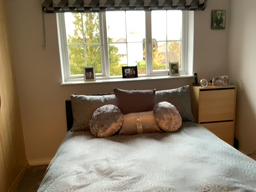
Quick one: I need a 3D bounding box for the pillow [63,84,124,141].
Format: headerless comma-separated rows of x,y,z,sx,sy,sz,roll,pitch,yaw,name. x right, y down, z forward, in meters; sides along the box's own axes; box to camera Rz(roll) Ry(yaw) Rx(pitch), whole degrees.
-0.370,0.170,2.330,0.540,0.460,0.190,-16,13,-9,pillow

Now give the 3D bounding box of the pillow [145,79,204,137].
0.540,0.130,2.480,0.510,0.470,0.220,-25,13,-10,pillow

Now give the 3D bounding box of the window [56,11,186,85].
-0.040,-0.680,2.970,1.770,0.940,0.090,-4,11,-12,window
